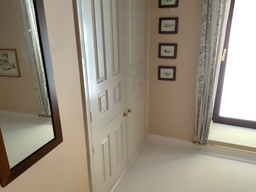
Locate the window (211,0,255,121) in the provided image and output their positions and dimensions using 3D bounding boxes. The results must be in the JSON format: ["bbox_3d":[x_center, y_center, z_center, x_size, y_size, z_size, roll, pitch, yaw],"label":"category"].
[{"bbox_3d":[1.540,-0.490,2.630,0.770,1.620,0.210,6,-159,18],"label":"window"}]

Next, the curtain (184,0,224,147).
[{"bbox_3d":[0.780,-0.450,2.160,0.240,2.120,0.130,6,-159,19],"label":"curtain"}]

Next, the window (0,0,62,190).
[{"bbox_3d":[-0.490,-0.410,0.780,0.020,1.600,0.430,8,-159,23],"label":"window"}]
